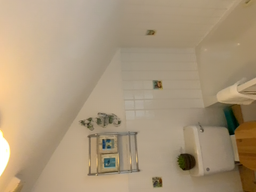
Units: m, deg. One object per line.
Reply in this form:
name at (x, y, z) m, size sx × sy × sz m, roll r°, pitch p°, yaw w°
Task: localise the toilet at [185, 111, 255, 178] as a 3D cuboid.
toilet at (1.000, 0.400, 1.760) m, size 0.680 × 0.760 × 0.420 m, roll 115°, pitch 152°, yaw -71°
